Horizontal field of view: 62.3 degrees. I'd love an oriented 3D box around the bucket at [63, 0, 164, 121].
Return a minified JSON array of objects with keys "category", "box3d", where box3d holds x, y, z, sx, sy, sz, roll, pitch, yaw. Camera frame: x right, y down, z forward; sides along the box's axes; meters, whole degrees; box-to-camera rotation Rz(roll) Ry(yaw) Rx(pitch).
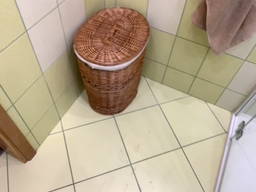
[{"category":"bucket","box3d":[-0.080,-0.220,1.360,0.380,0.520,0.440,25,56,13]}]
